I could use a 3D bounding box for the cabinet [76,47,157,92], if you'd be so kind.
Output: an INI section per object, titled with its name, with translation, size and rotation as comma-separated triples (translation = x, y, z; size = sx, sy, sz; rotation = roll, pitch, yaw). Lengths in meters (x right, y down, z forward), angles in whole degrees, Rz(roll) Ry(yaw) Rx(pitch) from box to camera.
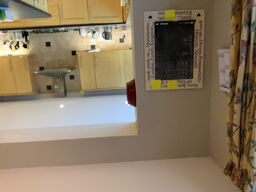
[cabinet]
translation = -0.210, -0.540, 4.290
size = 1.520, 0.800, 0.350
rotation = -3, -166, -2
